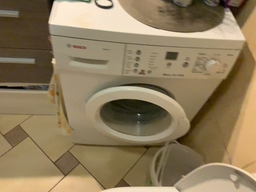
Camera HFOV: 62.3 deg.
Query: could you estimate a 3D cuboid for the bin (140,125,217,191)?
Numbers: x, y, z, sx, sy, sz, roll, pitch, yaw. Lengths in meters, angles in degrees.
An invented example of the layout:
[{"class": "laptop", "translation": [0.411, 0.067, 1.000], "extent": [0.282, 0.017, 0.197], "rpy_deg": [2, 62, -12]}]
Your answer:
[{"class": "bin", "translation": [0.230, 0.340, 1.110], "extent": [0.270, 0.320, 0.250], "rpy_deg": [3, 55, -7]}]
